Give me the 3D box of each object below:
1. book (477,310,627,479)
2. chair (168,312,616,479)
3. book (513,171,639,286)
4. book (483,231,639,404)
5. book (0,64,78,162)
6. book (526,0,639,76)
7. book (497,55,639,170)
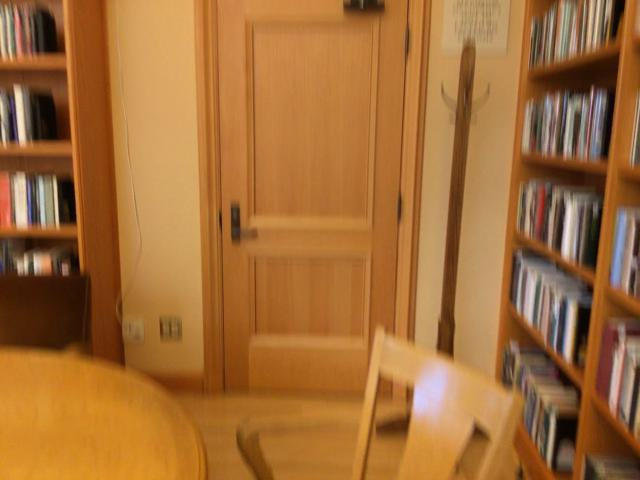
[{"bbox_3d":[0.950,0.670,2.500,0.330,0.510,0.750,4,10,3],"label":"book"},{"bbox_3d":[0.060,0.730,1.320,0.700,0.920,0.700,-1,11,-22],"label":"chair"},{"bbox_3d":[0.970,-0.080,2.270,0.180,0.330,0.770,4,10,3],"label":"book"},{"bbox_3d":[0.970,0.260,2.360,0.370,0.440,0.860,4,10,3],"label":"book"},{"bbox_3d":[-1.550,-0.570,2.560,0.820,0.390,0.310,4,10,3],"label":"book"},{"bbox_3d":[0.960,-0.810,2.150,0.130,0.300,0.770,4,10,3],"label":"book"},{"bbox_3d":[0.920,-0.470,2.240,0.220,0.340,0.880,4,10,3],"label":"book"}]
